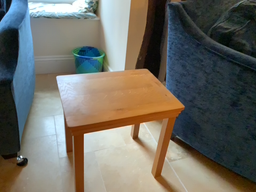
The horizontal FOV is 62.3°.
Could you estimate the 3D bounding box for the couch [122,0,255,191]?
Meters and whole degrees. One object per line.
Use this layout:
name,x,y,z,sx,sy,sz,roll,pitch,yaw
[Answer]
couch,0.930,-0.150,1.370,1.500,0.920,1.120,-24,44,-37

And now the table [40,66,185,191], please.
table,-0.110,0.170,1.110,0.580,0.480,0.390,-8,36,-21
